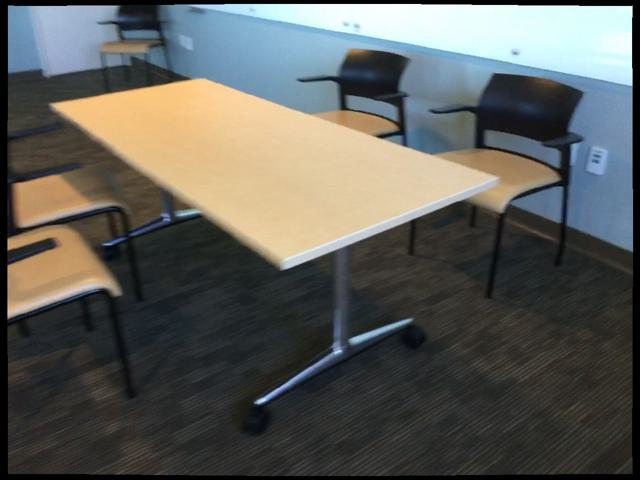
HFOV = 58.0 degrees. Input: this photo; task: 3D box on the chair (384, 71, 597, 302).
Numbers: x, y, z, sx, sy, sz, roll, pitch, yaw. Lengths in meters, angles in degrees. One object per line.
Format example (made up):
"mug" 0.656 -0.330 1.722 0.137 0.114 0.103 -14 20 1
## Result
"chair" 0.709 -0.271 2.540 0.619 0.741 0.570 -21 33 -30
